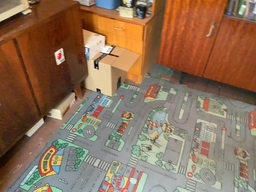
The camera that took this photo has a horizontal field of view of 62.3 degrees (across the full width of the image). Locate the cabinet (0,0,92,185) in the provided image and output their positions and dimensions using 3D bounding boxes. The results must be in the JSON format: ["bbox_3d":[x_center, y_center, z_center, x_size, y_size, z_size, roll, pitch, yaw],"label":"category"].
[{"bbox_3d":[-0.840,-0.130,1.440,0.570,0.870,1.210,19,44,16],"label":"cabinet"}]
